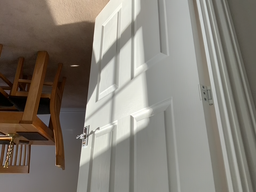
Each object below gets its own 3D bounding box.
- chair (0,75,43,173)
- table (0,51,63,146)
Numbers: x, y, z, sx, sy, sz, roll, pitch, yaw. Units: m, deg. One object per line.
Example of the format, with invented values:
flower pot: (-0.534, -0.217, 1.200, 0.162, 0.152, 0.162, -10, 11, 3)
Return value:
chair: (-1.480, 0.360, 2.580, 0.440, 1.040, 0.640, -1, 155, 3)
table: (-1.470, 0.070, 2.280, 1.220, 0.760, 0.820, 1, 155, -1)
